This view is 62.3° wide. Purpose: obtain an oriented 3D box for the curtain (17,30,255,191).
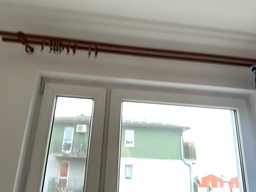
[{"bbox_3d":[0.120,0.500,1.260,1.380,1.750,0.220,5,-20,-8],"label":"curtain"}]
